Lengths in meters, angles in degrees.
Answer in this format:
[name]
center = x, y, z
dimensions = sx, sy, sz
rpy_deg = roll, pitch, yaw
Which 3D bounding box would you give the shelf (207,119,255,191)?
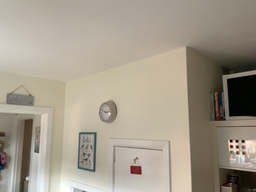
[shelf]
center = 1.080, 1.130, 1.850
dimensions = 0.420, 1.820, 0.680
rpy_deg = -7, -12, 42
